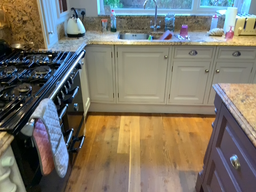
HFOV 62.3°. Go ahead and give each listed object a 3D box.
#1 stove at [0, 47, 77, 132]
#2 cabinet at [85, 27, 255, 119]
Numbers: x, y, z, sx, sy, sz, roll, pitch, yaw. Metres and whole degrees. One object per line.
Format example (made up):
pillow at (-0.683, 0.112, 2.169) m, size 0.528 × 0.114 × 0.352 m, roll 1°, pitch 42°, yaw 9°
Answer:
stove at (-0.770, -0.140, 1.340) m, size 0.610 × 0.020 × 1.110 m, roll 2°, pitch 29°, yaw 2°
cabinet at (0.520, -0.310, 2.640) m, size 1.900 × 0.910 × 0.650 m, roll 2°, pitch 29°, yaw 2°
